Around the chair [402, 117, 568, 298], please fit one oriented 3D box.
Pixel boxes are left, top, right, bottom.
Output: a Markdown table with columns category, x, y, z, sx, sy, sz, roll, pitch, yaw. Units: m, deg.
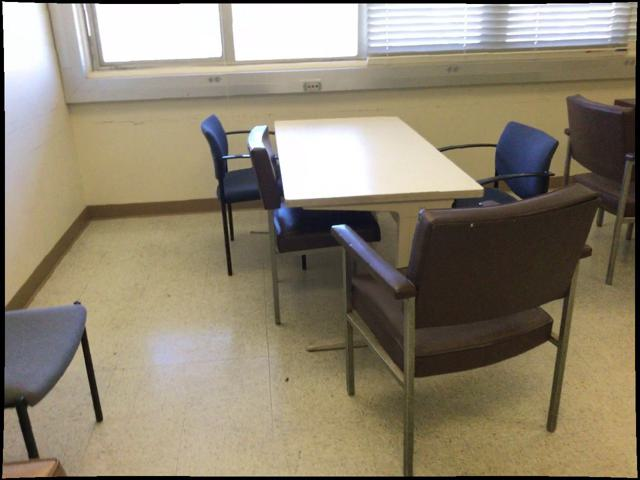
| category | x | y | z | sx | sy | sz | roll | pitch | yaw |
| --- | --- | --- | --- | --- | --- | --- | --- | --- | --- |
| chair | 0.718 | -0.170 | 2.690 | 0.549 | 0.671 | 0.520 | -4 | 24 | -4 |

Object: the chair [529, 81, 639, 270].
| category | x | y | z | sx | sy | sz | roll | pitch | yaw |
| --- | --- | --- | --- | --- | --- | --- | --- | --- | --- |
| chair | 1.556 | -0.361 | 2.930 | 0.608 | 0.752 | 0.660 | -6 | 24 | -8 |

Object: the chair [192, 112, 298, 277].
| category | x | y | z | sx | sy | sz | roll | pitch | yaw |
| --- | --- | --- | --- | --- | --- | --- | --- | --- | --- |
| chair | -0.379 | -0.261 | 3.080 | 0.459 | 0.712 | 0.540 | -4 | 24 | -4 |

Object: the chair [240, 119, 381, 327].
| category | x | y | z | sx | sy | sz | roll | pitch | yaw |
| --- | --- | --- | --- | --- | --- | --- | --- | --- | --- |
| chair | -0.050 | -0.100 | 2.680 | 0.559 | 0.782 | 0.560 | -4 | 24 | -4 |

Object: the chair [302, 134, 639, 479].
| category | x | y | z | sx | sy | sz | roll | pitch | yaw |
| --- | --- | --- | --- | --- | --- | --- | --- | --- | --- |
| chair | 0.409 | 0.190 | 1.860 | 0.728 | 0.852 | 0.660 | -10 | 25 | -17 |
